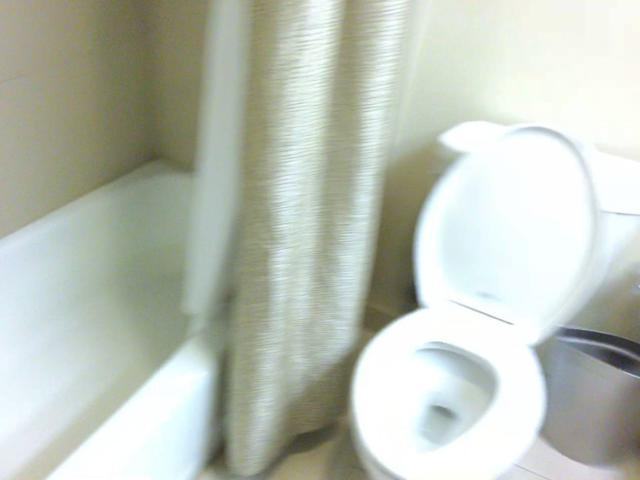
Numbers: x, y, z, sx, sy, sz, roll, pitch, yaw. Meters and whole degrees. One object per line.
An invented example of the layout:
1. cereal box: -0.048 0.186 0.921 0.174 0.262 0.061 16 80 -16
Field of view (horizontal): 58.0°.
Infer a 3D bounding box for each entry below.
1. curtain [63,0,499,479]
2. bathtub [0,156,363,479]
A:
1. curtain: -0.030 -0.300 1.180 0.510 1.610 0.700 22 36 23
2. bathtub: -0.610 0.340 1.320 0.760 0.410 1.510 22 36 23
